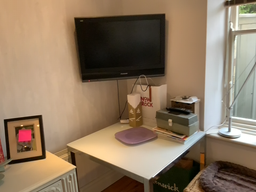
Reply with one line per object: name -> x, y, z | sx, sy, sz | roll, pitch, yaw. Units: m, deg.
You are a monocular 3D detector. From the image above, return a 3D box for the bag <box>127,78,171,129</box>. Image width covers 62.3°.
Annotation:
bag -> 0.210, 0.060, 2.120 | 0.350, 0.420, 0.250 | 9, 18, 44

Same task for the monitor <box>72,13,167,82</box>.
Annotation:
monitor -> -0.050, -0.440, 1.930 | 0.820, 0.540, 0.040 | -7, 15, -9

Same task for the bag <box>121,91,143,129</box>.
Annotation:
bag -> 0.040, 0.130, 2.060 | 0.170, 0.330, 0.110 | 8, 17, 42
